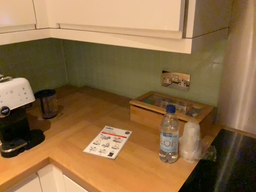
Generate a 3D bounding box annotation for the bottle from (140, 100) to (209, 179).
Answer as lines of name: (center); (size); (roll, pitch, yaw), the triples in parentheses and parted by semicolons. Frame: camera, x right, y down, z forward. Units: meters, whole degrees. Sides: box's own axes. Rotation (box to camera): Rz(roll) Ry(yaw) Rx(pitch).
bottle: (0.160, 0.140, 0.750); (0.170, 0.170, 0.160); (18, 30, 38)
